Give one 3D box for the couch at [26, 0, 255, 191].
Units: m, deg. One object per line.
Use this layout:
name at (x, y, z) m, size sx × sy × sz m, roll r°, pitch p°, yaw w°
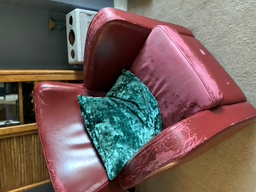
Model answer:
couch at (0.020, 0.060, 1.150) m, size 0.760 × 0.840 × 0.780 m, roll 61°, pitch 137°, yaw 29°
